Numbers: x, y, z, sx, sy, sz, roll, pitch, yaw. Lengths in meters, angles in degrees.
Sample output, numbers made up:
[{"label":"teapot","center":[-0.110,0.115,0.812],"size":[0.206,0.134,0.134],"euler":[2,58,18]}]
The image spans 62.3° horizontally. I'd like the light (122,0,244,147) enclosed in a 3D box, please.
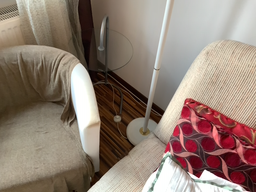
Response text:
[{"label":"light","center":[0.270,-0.310,1.060],"size":[0.390,1.450,0.280],"euler":[-32,59,-31]}]
